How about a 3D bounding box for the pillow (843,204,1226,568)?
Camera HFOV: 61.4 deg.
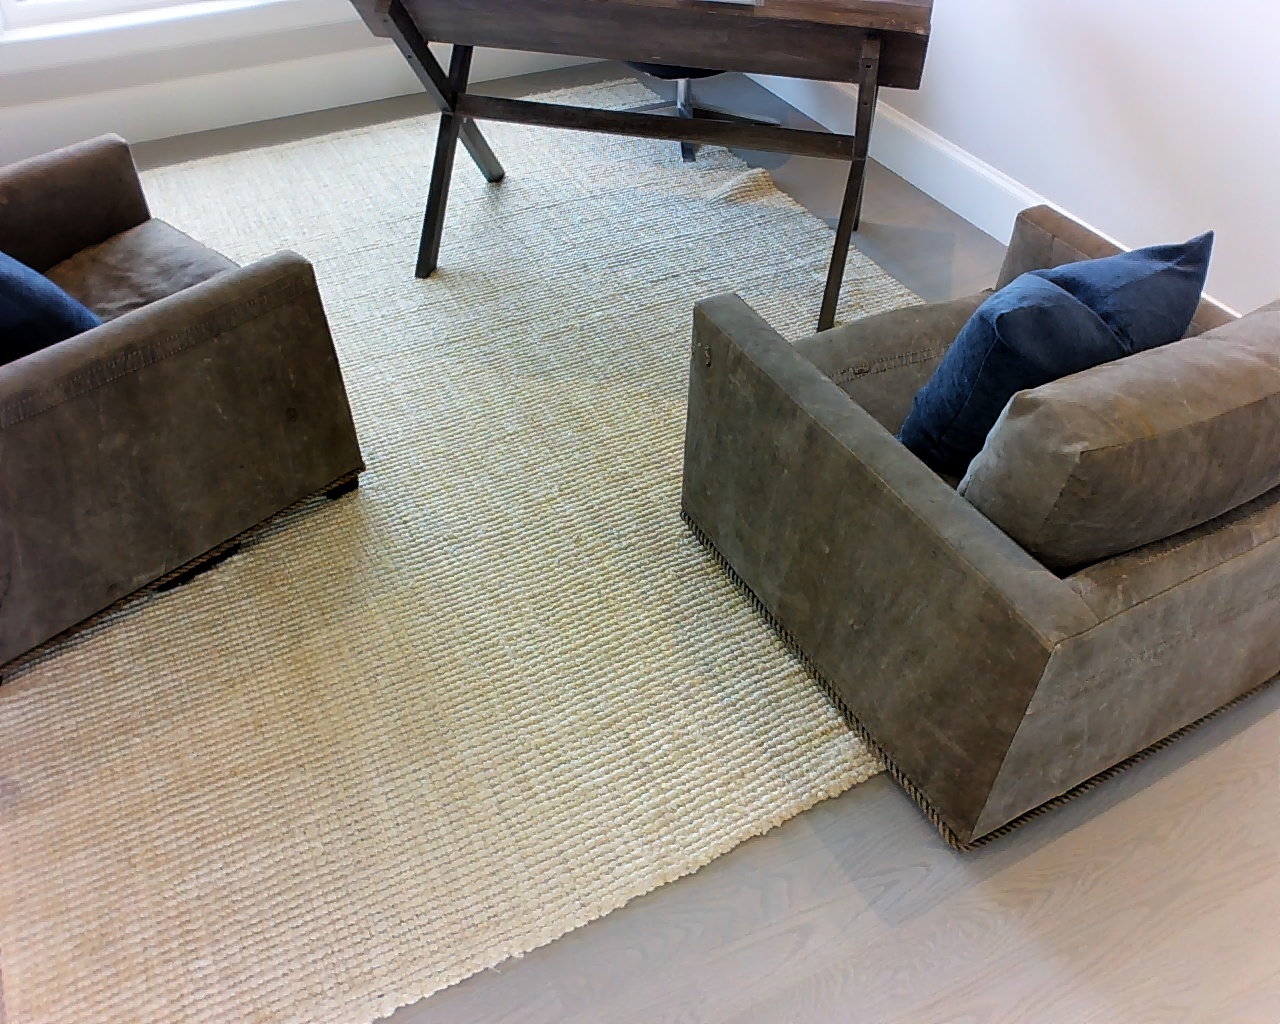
[{"bbox_3d":[0.650,-0.220,1.750,0.530,0.430,0.250,-19,18,-23],"label":"pillow"}]
